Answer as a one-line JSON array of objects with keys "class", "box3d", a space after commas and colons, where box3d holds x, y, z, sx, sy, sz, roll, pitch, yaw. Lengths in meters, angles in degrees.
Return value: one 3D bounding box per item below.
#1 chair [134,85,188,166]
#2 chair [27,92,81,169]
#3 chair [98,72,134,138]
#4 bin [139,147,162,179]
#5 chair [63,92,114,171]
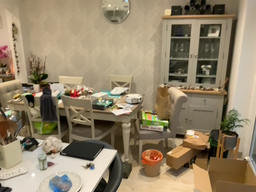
[{"class": "chair", "box3d": [0.410, 0.380, 2.880, 0.590, 0.960, 0.420, -3, 16, -9]}, {"class": "chair", "box3d": [-0.970, 0.440, 2.870, 0.400, 0.870, 0.470, 6, 17, 20]}, {"class": "chair", "box3d": [-0.190, 0.130, 3.710, 0.430, 0.980, 0.590, 5, 17, 16]}, {"class": "bin", "box3d": [0.280, 0.820, 2.630, 0.260, 0.250, 0.280, 2, 16, 8]}, {"class": "chair", "box3d": [-0.500, 0.440, 2.850, 0.420, 0.870, 0.490, 7, 18, 23]}]
